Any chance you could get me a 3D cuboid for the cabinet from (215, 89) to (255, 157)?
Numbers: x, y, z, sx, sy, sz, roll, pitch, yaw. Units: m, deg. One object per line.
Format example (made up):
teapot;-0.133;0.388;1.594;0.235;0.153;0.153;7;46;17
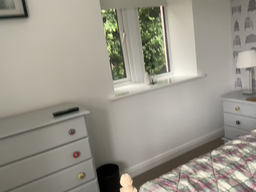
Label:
cabinet;1.370;0.270;2.450;0.480;0.580;0.450;-15;14;-27
